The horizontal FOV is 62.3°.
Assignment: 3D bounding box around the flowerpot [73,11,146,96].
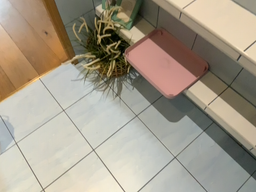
[{"bbox_3d":[-0.110,-0.270,1.390,0.280,0.320,0.340,-39,68,-17],"label":"flowerpot"}]
